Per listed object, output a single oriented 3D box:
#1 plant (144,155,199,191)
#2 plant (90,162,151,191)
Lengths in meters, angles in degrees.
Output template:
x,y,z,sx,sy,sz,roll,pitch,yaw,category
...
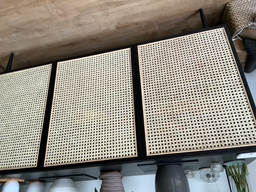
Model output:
x,y,z,sx,sy,sz,roll,pitch,yaw,category
0.220,0.490,1.000,0.220,0.350,0.220,-9,152,11,plant
-0.030,0.510,1.130,0.270,0.240,0.230,-9,152,11,plant
